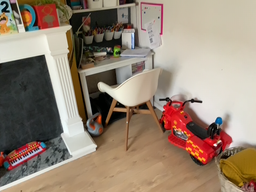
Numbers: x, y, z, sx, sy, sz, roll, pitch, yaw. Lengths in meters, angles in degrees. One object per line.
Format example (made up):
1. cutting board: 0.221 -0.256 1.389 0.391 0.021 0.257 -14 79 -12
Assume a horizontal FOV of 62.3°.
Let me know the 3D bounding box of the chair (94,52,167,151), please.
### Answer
1. chair: 0.020 0.030 2.230 0.490 0.790 0.530 -19 34 -27

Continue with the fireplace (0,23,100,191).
1. fireplace: -0.980 0.160 1.680 1.350 1.190 0.390 -18 33 -25

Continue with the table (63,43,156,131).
1. table: -0.200 -0.160 2.640 0.930 0.730 0.530 -19 34 -26
